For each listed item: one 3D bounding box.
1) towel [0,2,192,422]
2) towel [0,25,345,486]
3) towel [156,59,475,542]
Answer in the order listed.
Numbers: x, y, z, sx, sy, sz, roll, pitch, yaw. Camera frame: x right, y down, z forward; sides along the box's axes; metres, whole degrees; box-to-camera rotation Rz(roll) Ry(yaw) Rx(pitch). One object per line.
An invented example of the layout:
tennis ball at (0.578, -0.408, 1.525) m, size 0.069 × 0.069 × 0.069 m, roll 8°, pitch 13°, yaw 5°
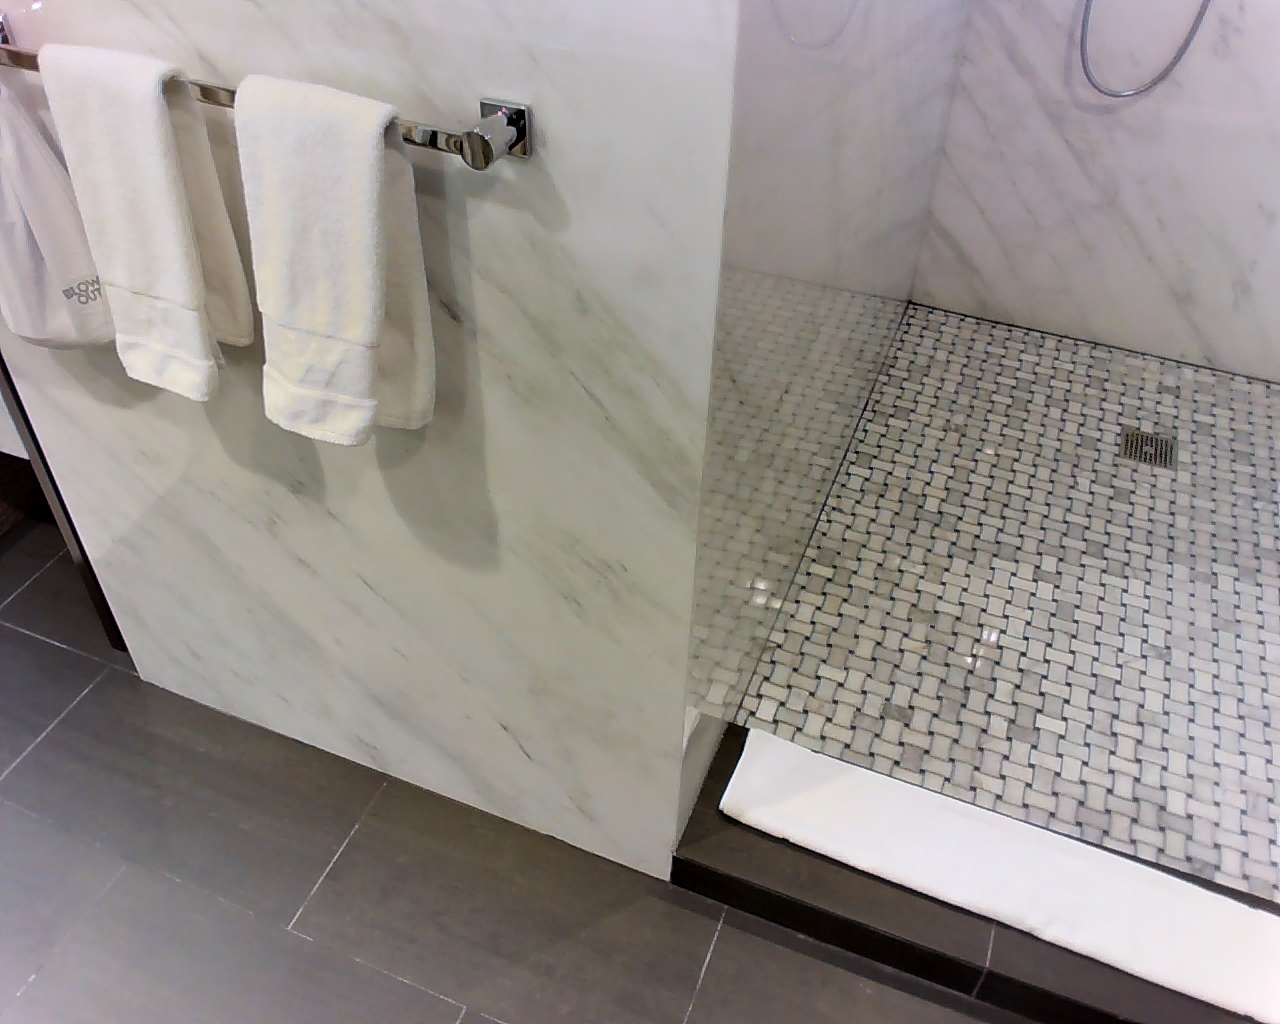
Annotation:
towel at (-0.680, -0.330, 1.220) m, size 0.200 × 0.440 × 0.100 m, roll 16°, pitch 43°, yaw 16°
towel at (-0.490, -0.260, 1.140) m, size 0.240 × 0.420 × 0.140 m, roll 16°, pitch 43°, yaw 16°
towel at (-0.300, -0.200, 1.080) m, size 0.170 × 0.420 × 0.170 m, roll 16°, pitch 43°, yaw 16°
